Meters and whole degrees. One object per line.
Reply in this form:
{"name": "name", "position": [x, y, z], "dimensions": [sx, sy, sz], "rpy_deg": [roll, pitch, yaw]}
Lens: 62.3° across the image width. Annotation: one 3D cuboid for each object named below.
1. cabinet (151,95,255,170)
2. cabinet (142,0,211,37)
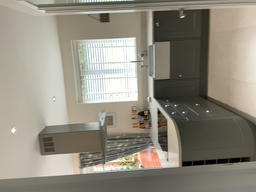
{"name": "cabinet", "position": [0.840, 0.340, 2.640], "dimensions": [1.350, 0.890, 0.400], "rpy_deg": [-106, 13, -78]}
{"name": "cabinet", "position": [0.710, -1.270, 3.290], "dimensions": [0.600, 0.890, 0.610], "rpy_deg": [-106, 12, -77]}
